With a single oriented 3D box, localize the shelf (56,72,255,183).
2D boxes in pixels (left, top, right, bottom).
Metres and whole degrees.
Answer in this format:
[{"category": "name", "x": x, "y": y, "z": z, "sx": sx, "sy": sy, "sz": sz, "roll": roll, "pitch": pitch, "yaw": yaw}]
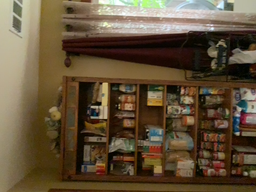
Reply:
[{"category": "shelf", "x": 0.520, "y": 0.270, "z": 1.860, "sx": 0.360, "sy": 2.130, "sz": 0.820, "roll": -178, "pitch": 90, "yaw": -87}]
